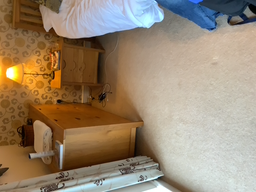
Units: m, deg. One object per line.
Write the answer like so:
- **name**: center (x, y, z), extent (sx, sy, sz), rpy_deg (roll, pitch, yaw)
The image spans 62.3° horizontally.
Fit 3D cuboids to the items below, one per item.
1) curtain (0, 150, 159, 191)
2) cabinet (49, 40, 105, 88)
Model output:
- **curtain**: center (-0.620, 0.630, 1.520), extent (0.330, 2.010, 0.130), rpy_deg (8, 95, 54)
- **cabinet**: center (-0.690, -0.400, 2.860), extent (0.460, 0.580, 0.530), rpy_deg (7, 94, 54)
